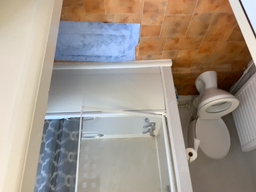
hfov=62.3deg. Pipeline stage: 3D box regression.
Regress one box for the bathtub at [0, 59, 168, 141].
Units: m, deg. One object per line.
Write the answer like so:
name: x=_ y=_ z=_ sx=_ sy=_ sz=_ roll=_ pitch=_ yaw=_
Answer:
bathtub: x=-0.420 y=0.070 z=2.240 sx=1.480 sy=0.580 sz=0.700 roll=-1 pitch=152 yaw=-3
